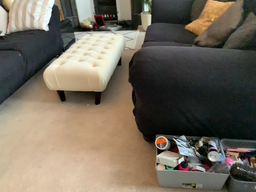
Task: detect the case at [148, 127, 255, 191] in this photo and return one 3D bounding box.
[{"bbox_3d":[0.480,0.350,1.110,0.740,0.260,0.230,1,33,7],"label":"case"}]

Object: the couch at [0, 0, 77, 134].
[{"bbox_3d":[-1.470,-0.470,2.010,1.160,0.860,2.120,1,33,8],"label":"couch"}]

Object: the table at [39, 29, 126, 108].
[{"bbox_3d":[-0.360,-0.340,2.150,0.520,0.360,1.050,1,33,8],"label":"table"}]

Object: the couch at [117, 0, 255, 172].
[{"bbox_3d":[0.660,-0.480,1.750,1.090,0.890,1.920,2,33,9],"label":"couch"}]
